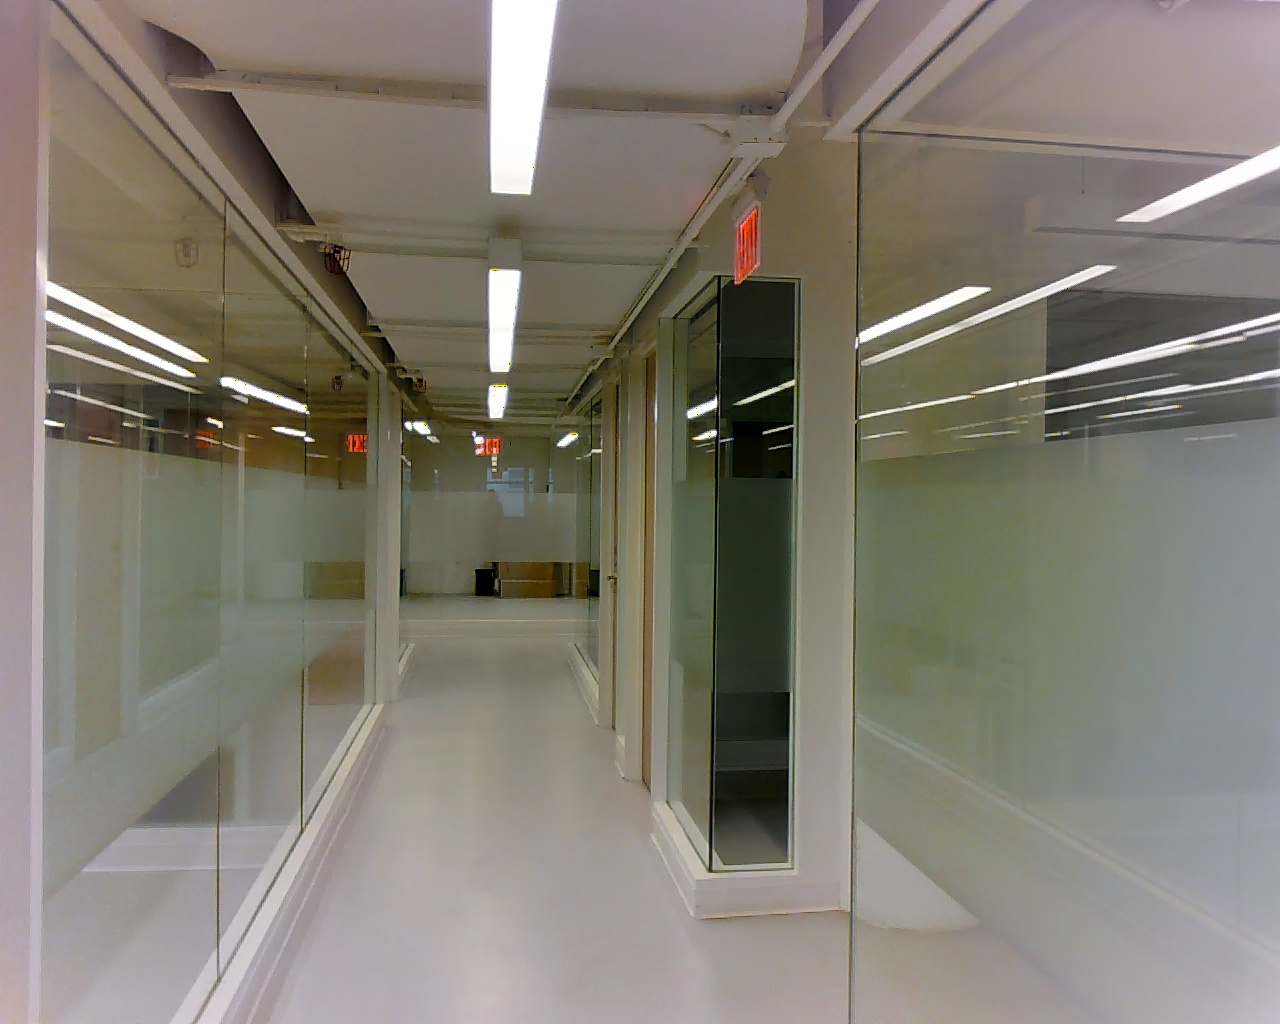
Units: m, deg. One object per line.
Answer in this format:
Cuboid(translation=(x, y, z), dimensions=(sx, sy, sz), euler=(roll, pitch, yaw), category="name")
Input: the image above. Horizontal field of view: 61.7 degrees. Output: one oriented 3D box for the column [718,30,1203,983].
Cuboid(translation=(1.050, -0.010, 3.650), dimensions=(1.440, 2.891, 0.590), euler=(1, 0, -9), category="column")
